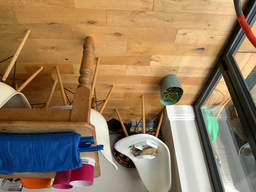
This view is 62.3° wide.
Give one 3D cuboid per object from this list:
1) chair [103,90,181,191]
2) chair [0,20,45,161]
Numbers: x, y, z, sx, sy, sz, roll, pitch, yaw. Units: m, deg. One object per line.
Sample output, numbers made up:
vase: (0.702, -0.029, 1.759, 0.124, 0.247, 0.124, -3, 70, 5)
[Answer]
chair: (0.130, 0.480, 2.140, 0.470, 0.810, 0.560, -24, 139, 27)
chair: (-0.870, -0.050, 1.370, 0.380, 0.790, 0.470, 1, 144, -4)
